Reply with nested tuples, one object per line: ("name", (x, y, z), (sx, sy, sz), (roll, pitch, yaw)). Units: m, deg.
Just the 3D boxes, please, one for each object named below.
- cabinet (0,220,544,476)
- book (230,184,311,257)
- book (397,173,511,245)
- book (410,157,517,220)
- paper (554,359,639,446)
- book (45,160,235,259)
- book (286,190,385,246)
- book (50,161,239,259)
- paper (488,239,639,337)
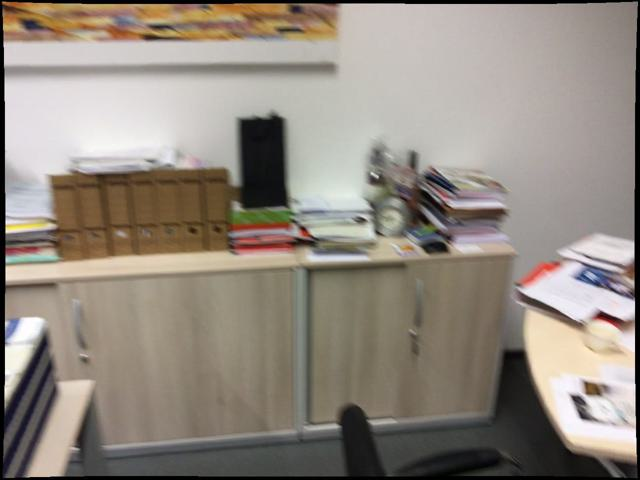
("cabinet", (-0.819, 0.410, 2.120), (3.167, 0.821, 0.310), (-2, 24, -7))
("book", (-0.190, -0.080, 2.160), (0.280, 0.170, 0.290), (-2, 24, -7))
("book", (0.509, -0.130, 2.260), (0.330, 0.170, 0.320), (-2, 24, -7))
("book", (0.549, -0.210, 2.270), (0.310, 0.150, 0.300), (-2, 24, -7))
("paper", (0.739, 0.400, 1.410), (0.300, 0.010, 0.270), (8, 25, 15))
("book", (-0.599, -0.110, 2.000), (0.589, 0.290, 0.100), (-4, 25, -12))
("book", (0.050, -0.090, 2.230), (0.340, 0.120, 0.260), (-2, 24, -7))
("book", (-0.589, -0.110, 2.010), (0.589, 0.280, 0.100), (-5, 25, -14))
("paper", (0.919, 0.140, 1.900), (0.579, 0.110, 0.420), (-2, 24, -7))
